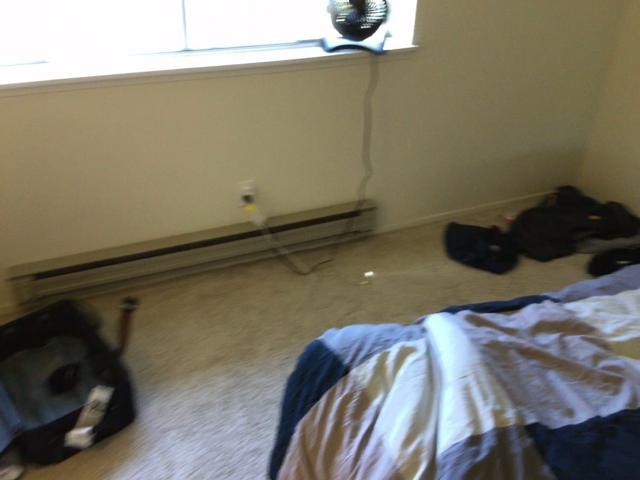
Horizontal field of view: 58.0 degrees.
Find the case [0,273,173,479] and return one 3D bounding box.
[{"bbox_3d":[-0.960,0.460,1.800,0.760,0.190,0.690,-18,36,-29],"label":"case"}]
